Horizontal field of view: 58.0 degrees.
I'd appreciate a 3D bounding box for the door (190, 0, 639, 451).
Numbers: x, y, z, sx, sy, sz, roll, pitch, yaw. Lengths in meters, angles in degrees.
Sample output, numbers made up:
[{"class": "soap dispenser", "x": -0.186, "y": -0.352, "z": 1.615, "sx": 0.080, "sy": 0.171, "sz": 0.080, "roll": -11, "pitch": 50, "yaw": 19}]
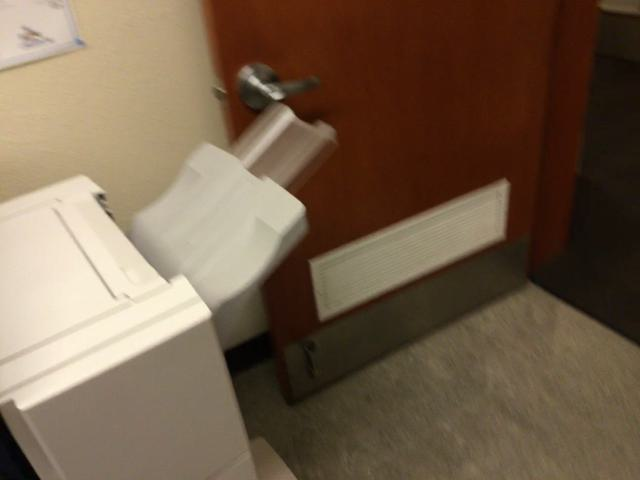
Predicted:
[{"class": "door", "x": 0.320, "y": -0.490, "z": 1.370, "sx": 1.180, "sy": 1.990, "sz": 0.160, "roll": -23, "pitch": 35, "yaw": -21}]
